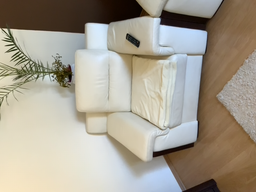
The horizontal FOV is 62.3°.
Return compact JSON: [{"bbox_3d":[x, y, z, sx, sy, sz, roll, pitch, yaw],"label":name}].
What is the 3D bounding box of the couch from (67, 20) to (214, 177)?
[{"bbox_3d":[0.030,-0.080,1.980,1.020,0.880,1.010,20,112,56],"label":"couch"}]
